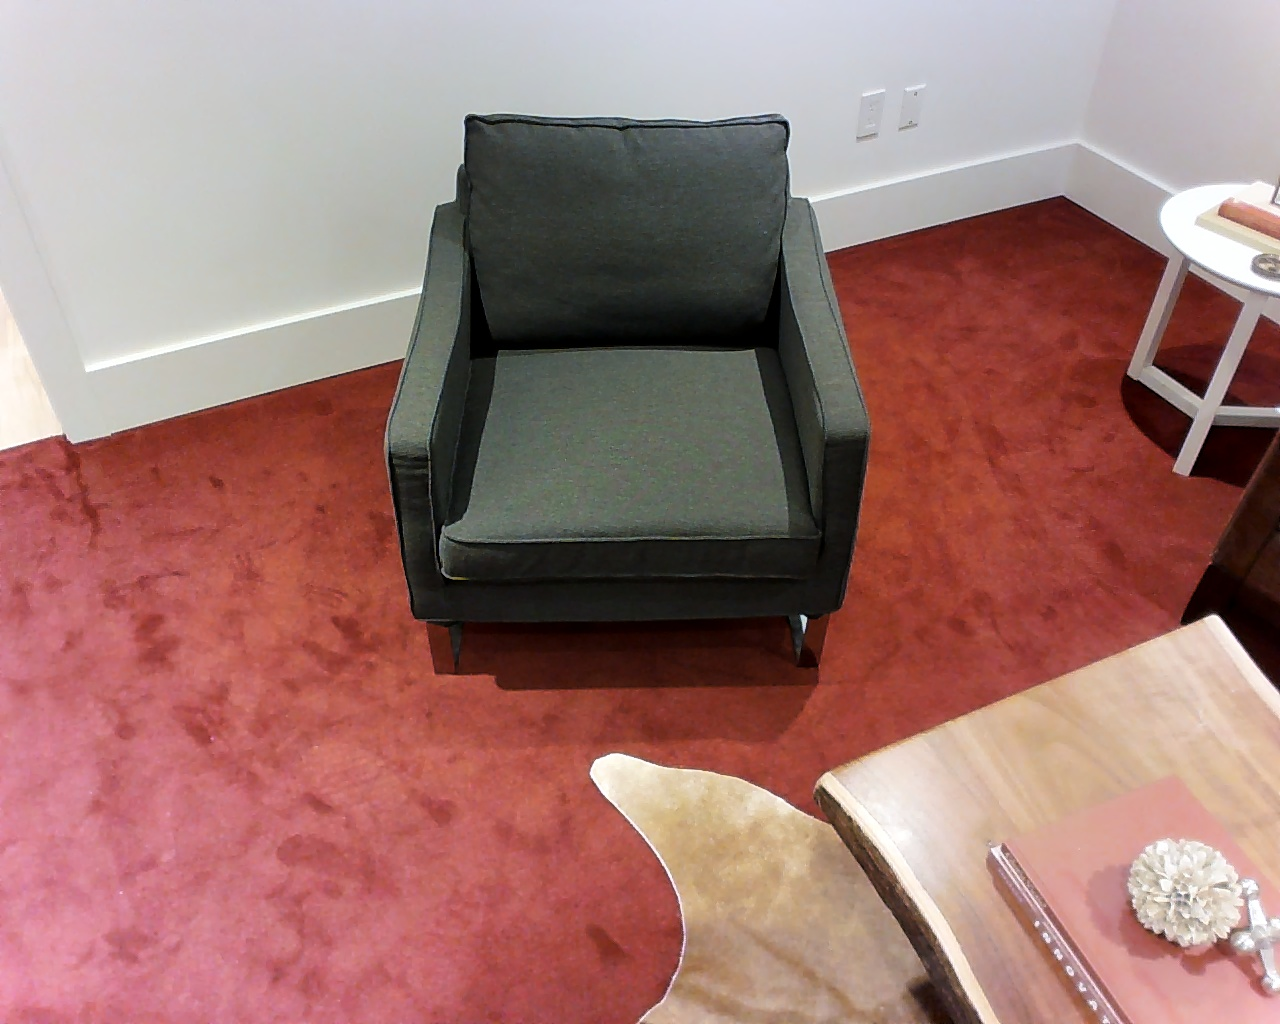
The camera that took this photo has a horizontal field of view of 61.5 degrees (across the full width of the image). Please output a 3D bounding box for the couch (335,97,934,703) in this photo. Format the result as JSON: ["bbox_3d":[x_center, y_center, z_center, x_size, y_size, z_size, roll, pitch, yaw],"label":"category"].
[{"bbox_3d":[-0.020,-0.240,2.040,0.810,0.750,0.900,-1,42,-1],"label":"couch"}]
